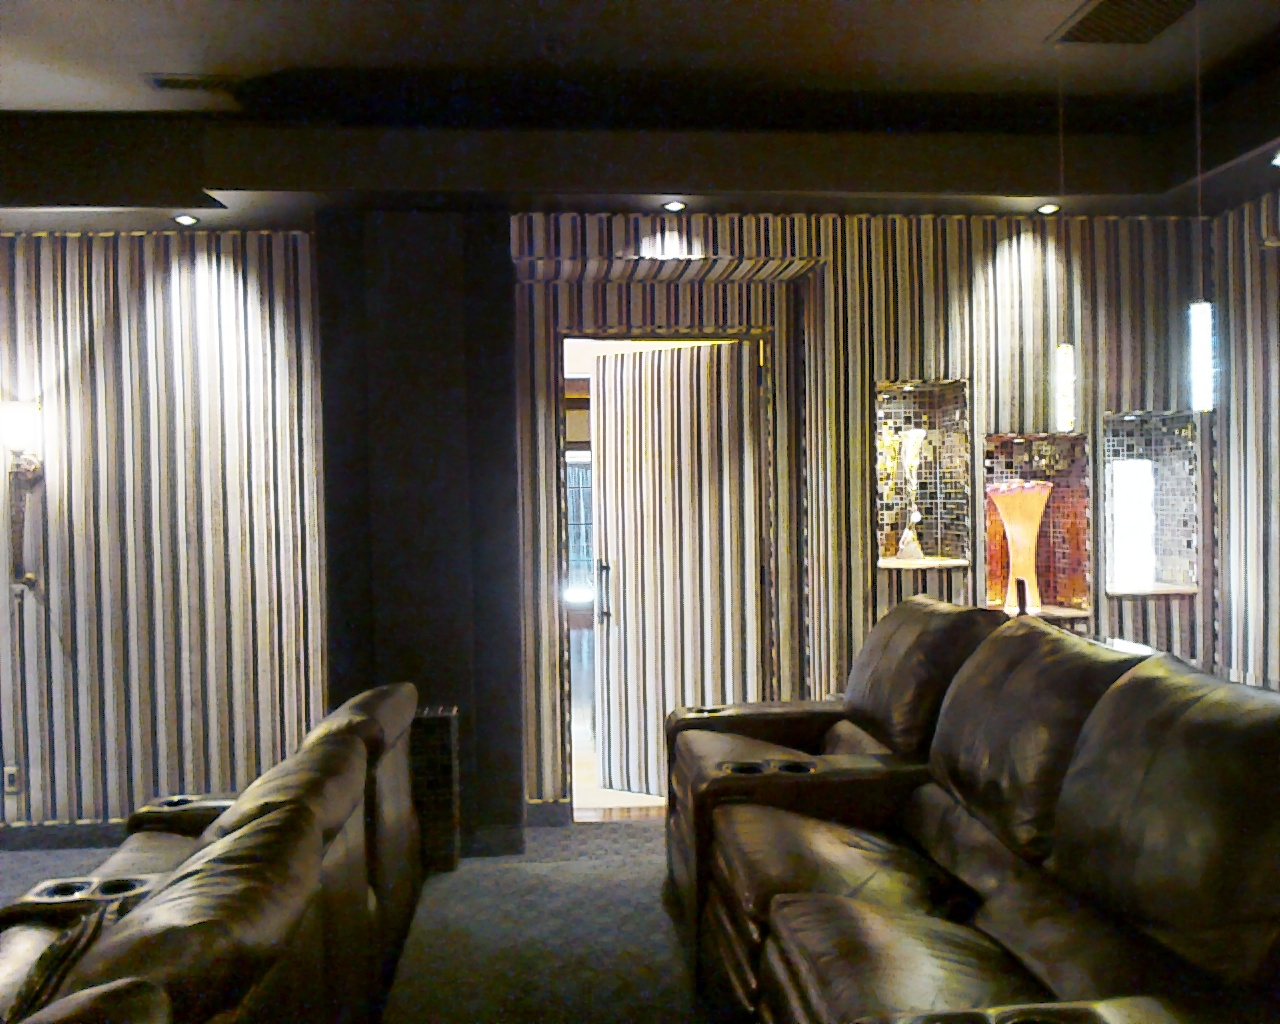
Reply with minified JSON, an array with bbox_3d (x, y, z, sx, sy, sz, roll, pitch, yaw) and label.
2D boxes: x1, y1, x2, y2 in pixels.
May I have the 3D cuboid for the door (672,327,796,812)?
[{"bbox_3d":[0.480,0.290,5.530,0.610,2.410,0.130,0,1,29],"label":"door"}]

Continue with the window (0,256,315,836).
[{"bbox_3d":[-2.810,0.160,4.990,2.480,2.680,0.050,-1,1,-5],"label":"window"}]

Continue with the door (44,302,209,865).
[{"bbox_3d":[-2.370,0.310,4.920,0.930,2.410,0.200,0,1,34],"label":"door"}]
